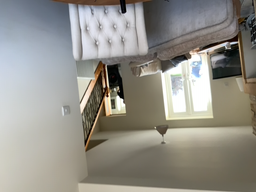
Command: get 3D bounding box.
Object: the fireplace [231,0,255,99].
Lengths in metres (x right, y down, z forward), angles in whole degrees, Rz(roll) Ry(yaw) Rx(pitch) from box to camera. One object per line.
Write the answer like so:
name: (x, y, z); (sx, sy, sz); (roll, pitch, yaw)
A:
fireplace: (2.100, -0.780, 3.340); (0.550, 1.530, 1.880); (-5, -179, 20)

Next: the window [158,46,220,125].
window: (1.680, -0.240, 5.860); (1.420, 1.960, 0.450); (-5, -179, 19)

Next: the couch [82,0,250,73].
couch: (0.450, -0.890, 2.710); (1.750, 0.940, 1.060); (-5, -179, 36)
